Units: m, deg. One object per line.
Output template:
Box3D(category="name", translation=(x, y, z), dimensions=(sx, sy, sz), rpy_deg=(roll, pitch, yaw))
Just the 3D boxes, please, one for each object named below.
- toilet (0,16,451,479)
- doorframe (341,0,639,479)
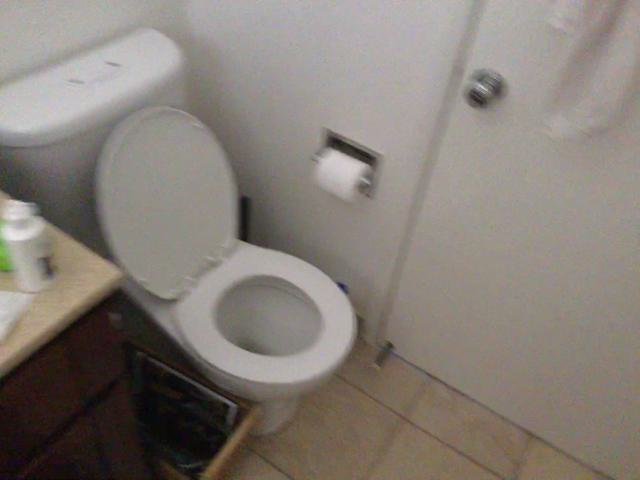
Box3D(category="toilet", translation=(-0.240, 0.070, 1.330), dimensions=(0.750, 0.810, 0.520), rpy_deg=(28, 48, 22))
Box3D(category="doorframe", translation=(0.530, -0.270, 0.850), dimensions=(0.920, 2.050, 0.070), rpy_deg=(28, 48, 22))
